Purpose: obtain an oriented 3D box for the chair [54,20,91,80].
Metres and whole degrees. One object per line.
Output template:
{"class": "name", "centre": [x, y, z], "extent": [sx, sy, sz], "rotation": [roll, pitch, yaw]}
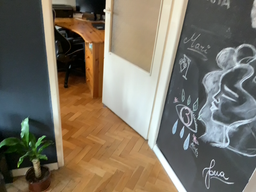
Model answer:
{"class": "chair", "centre": [-0.820, -0.680, 3.120], "extent": [0.460, 0.730, 0.510], "rotation": [-3, 31, -17]}
